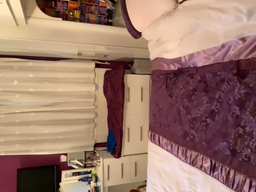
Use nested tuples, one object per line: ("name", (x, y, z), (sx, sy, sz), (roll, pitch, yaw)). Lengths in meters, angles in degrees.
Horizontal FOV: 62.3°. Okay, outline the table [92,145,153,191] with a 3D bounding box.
("table", (-0.090, 1.430, 3.100), (0.430, 0.780, 1.270), (-175, 85, -69))
